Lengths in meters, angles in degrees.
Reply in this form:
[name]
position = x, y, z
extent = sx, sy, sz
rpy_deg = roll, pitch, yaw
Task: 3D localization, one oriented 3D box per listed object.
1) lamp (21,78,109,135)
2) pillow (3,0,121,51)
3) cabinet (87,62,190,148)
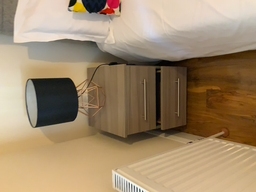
[lamp]
position = -0.350, 0.030, 1.200
extent = 0.270, 0.400, 0.260
rpy_deg = 8, 99, 52
[pillow]
position = -0.320, -0.650, 1.100
extent = 0.250, 0.530, 0.770
rpy_deg = -161, 71, -75
[cabinet]
position = 0.070, 0.020, 1.410
extent = 0.420, 0.530, 0.440
rpy_deg = 6, 98, 52
